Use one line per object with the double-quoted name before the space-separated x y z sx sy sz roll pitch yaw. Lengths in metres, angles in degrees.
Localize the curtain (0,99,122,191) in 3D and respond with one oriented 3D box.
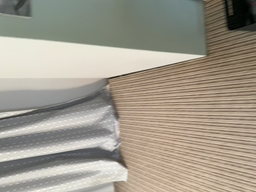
"curtain" -0.940 0.520 1.920 0.150 2.070 0.850 7 98 52
